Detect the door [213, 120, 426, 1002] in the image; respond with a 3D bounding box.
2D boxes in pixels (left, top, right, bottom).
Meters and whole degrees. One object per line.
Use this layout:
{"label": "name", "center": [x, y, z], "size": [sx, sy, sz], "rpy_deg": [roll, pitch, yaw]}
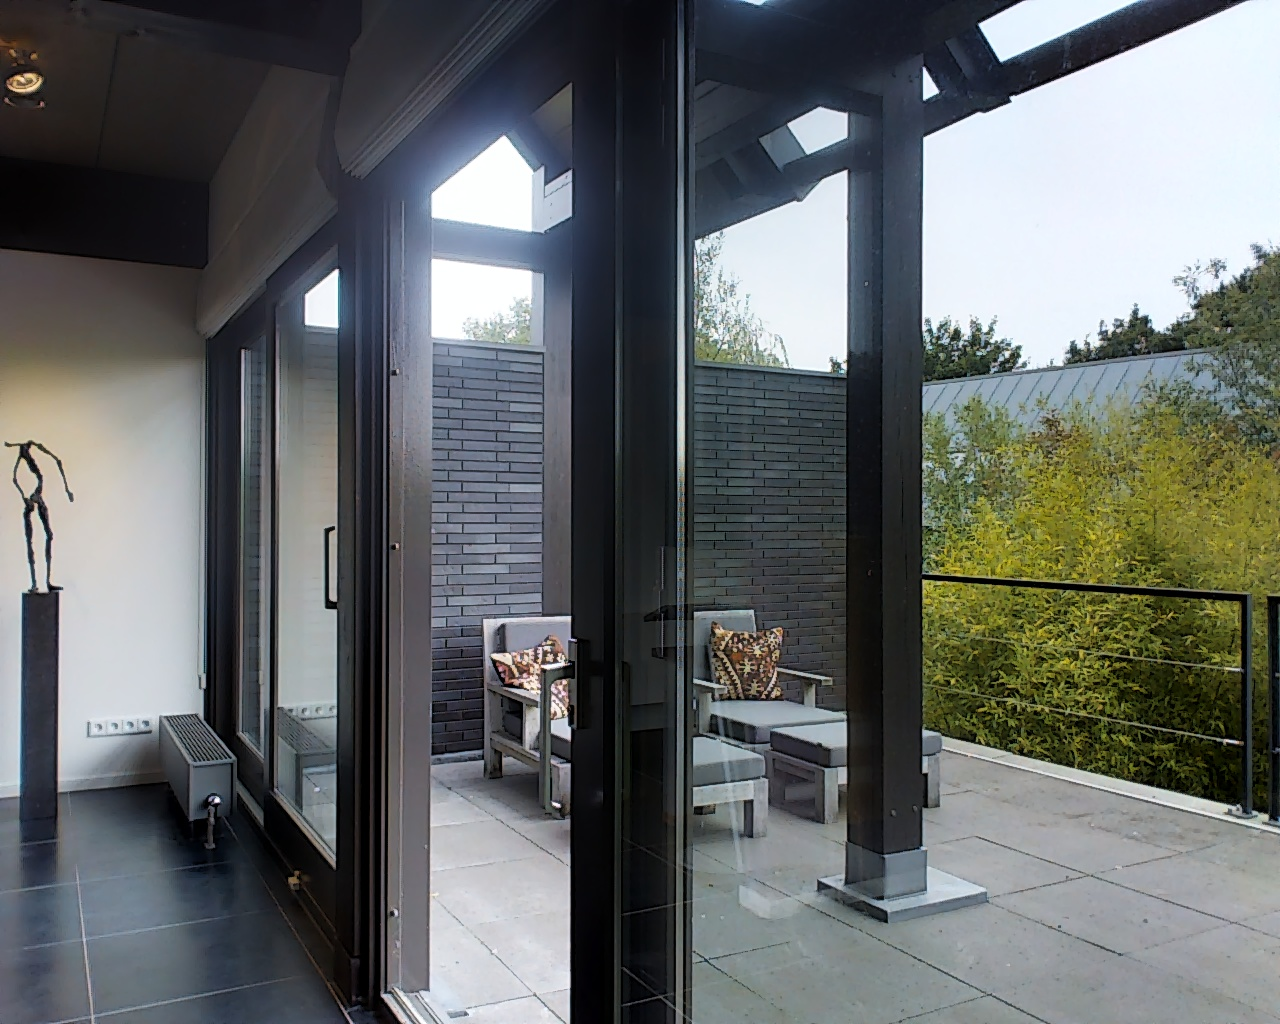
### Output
{"label": "door", "center": [-1.420, 0.140, 4.360], "size": [0.220, 2.470, 2.930], "rpy_deg": [1, -1, -28]}
